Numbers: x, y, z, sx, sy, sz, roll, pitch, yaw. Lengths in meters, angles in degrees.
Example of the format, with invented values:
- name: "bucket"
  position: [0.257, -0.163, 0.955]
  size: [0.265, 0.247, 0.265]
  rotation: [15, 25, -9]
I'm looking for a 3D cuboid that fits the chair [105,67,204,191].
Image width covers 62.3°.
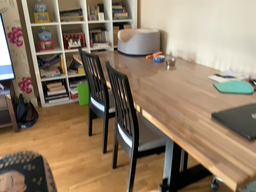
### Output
- name: "chair"
  position: [0.160, 0.270, 1.660]
  size: [0.520, 0.840, 0.490]
  rotation: [-10, 25, -20]
